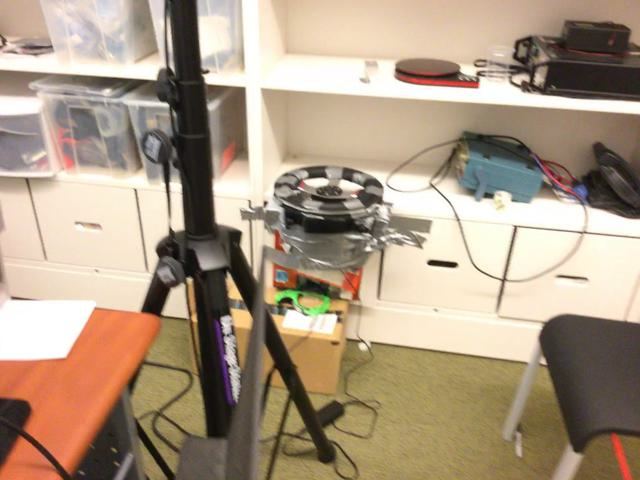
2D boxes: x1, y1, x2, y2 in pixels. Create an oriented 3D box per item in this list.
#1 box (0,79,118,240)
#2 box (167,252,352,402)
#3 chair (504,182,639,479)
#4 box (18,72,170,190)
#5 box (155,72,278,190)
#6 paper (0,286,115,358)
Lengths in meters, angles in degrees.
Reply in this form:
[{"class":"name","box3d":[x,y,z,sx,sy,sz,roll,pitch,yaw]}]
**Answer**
[{"class":"box","box3d":[-1.050,-0.290,1.960,0.500,0.420,0.390,3,28,10]},{"class":"box","box3d":[-0.170,0.270,1.860,0.510,0.340,0.280,3,28,10]},{"class":"chair","box3d":[0.780,0.330,1.320,0.560,0.780,0.480,3,28,10]},{"class":"box","box3d":[-0.730,-0.370,1.920,0.320,0.310,0.280,3,28,10]},{"class":"box","box3d":[-0.320,-0.370,1.900,0.270,0.290,0.340,3,28,10]},{"class":"paper","box3d":[-0.470,0.130,0.930,0.230,0.020,0.160,-2,27,0]}]
